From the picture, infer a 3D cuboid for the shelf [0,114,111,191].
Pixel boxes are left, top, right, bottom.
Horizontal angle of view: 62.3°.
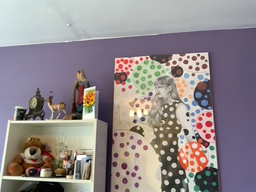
[{"bbox_3d":[-0.480,1.030,1.240,0.640,1.820,0.280,-1,-15,10],"label":"shelf"}]
